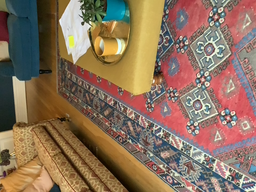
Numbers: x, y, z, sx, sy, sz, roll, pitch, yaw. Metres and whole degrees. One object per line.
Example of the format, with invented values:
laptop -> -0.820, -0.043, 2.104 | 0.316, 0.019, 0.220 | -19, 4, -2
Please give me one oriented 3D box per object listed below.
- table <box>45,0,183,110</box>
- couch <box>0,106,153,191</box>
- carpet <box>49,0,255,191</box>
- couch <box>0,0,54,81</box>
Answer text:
table -> -0.230, -0.530, 1.550 | 1.250, 0.300, 0.810 | 28, 119, 45
couch -> -0.640, 1.060, 1.980 | 2.240, 0.890, 1.070 | 28, 119, 45
carpet -> -0.080, -0.420, 1.630 | 2.650, 0.060, 1.870 | 26, 118, 45
couch -> -1.580, -1.140, 2.750 | 1.080, 0.830, 1.600 | 29, 119, 44
